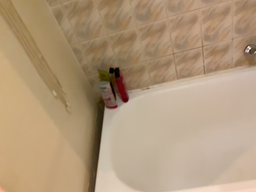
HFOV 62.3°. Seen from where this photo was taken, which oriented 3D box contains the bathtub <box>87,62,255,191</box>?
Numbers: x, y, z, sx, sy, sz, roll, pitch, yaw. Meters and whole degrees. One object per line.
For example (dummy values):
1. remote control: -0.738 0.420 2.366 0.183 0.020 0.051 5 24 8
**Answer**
1. bathtub: 0.600 0.290 1.140 1.420 0.600 0.680 -12 39 10
